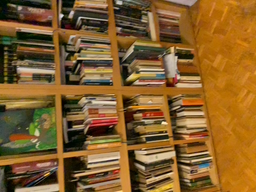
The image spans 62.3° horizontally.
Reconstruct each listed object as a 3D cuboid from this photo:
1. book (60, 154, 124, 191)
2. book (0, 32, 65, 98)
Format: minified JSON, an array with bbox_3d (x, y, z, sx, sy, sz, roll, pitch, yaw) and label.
[{"bbox_3d":[-0.260,0.590,1.460,0.340,0.340,0.320,152,114,-62],"label":"book"},{"bbox_3d":[-0.630,-0.180,1.380,0.260,0.370,0.330,150,116,-61],"label":"book"}]
